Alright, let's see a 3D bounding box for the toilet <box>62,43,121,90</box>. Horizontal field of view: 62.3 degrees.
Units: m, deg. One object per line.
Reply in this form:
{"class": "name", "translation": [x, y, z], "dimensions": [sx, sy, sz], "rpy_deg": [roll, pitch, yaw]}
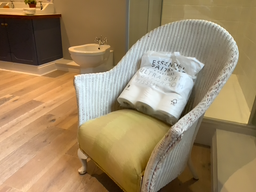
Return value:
{"class": "toilet", "translation": [-0.400, -0.380, 2.500], "dimensions": [0.390, 0.370, 0.630], "rpy_deg": [11, 24, 20]}
